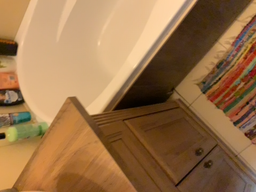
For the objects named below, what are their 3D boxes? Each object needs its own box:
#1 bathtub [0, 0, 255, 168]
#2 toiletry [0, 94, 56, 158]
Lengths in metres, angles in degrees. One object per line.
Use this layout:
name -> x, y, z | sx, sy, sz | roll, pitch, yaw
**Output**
bathtub -> 0.030, -0.420, 1.010 | 0.680, 0.580, 1.380 | 50, 117, 21
toiletry -> -0.480, 0.120, 0.960 | 0.280, 0.160, 0.090 | 46, 116, 23
